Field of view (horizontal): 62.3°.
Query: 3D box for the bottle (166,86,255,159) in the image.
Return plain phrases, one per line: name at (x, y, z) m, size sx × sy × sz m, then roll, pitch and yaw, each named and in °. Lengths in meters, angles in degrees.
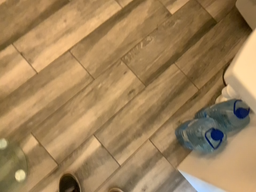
bottle at (0.410, 0.140, 1.100) m, size 0.290 × 0.390 × 0.160 m, roll -42°, pitch 88°, yaw -13°
